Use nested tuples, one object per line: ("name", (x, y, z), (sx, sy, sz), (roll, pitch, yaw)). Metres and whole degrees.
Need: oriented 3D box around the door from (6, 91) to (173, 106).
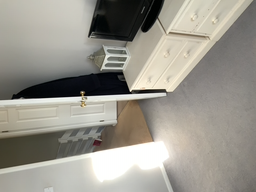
("door", (-0.460, 0.030, 2.680), (0.920, 1.850, 0.080), (-6, 87, 61))
